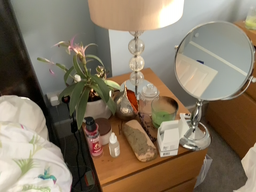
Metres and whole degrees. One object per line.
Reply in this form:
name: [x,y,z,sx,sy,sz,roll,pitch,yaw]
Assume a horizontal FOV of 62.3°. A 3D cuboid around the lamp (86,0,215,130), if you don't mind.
lamp: [0.040,-0.220,0.750,0.290,0.550,0.340,-14,42,-15]
